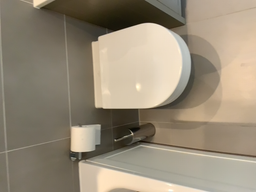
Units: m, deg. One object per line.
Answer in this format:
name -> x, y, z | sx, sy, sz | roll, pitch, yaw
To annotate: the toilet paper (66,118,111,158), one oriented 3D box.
toilet paper -> -0.190, 0.200, 1.060 | 0.090, 0.210, 0.150 | -3, 90, 37
